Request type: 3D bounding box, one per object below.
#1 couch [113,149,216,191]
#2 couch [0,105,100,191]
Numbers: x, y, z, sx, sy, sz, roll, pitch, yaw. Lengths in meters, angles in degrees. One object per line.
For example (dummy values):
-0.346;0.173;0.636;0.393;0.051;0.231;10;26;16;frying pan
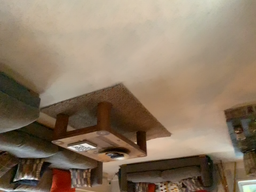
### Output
0.850;1.900;4.980;2.050;0.760;1.180;-15;147;22;couch
-1.780;0.800;2.990;1.130;0.760;3.120;-16;147;24;couch
